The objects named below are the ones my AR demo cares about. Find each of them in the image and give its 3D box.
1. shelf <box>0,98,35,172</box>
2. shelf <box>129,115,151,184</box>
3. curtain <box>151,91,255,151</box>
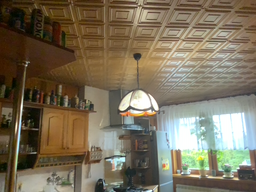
[{"bbox_3d":[-1.530,0.490,2.710,0.270,0.860,0.500,-10,-15,36],"label":"shelf"},{"bbox_3d":[0.240,1.070,4.370,0.300,1.320,0.310,-10,-15,36],"label":"shelf"},{"bbox_3d":[1.600,0.610,4.620,2.340,1.120,0.200,-9,-15,35],"label":"curtain"}]
